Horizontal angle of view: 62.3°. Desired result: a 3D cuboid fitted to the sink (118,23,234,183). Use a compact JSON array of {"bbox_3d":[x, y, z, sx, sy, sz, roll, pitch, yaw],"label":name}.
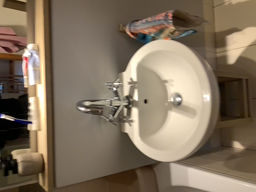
[{"bbox_3d":[0.160,0.020,0.850,0.440,0.180,0.470,0,90,53],"label":"sink"}]
